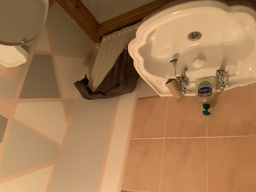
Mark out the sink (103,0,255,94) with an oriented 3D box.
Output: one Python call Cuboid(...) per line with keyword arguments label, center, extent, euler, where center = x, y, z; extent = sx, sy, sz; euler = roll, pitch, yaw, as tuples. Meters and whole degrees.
Cuboid(label="sink", center=(0.270, -0.240, 0.970), extent=(0.580, 0.170, 0.470), euler=(-9, 145, 33))
